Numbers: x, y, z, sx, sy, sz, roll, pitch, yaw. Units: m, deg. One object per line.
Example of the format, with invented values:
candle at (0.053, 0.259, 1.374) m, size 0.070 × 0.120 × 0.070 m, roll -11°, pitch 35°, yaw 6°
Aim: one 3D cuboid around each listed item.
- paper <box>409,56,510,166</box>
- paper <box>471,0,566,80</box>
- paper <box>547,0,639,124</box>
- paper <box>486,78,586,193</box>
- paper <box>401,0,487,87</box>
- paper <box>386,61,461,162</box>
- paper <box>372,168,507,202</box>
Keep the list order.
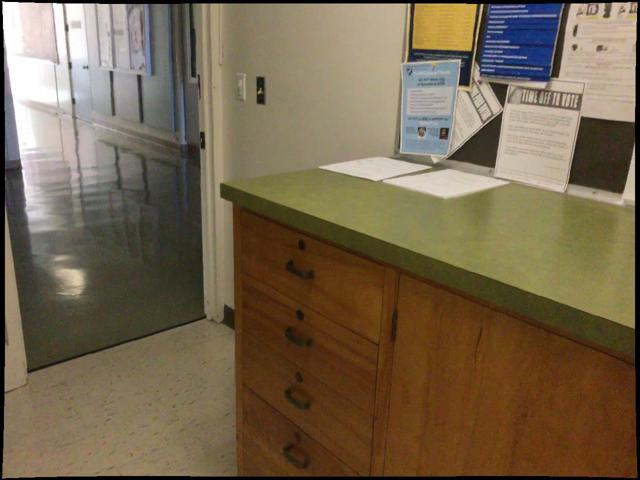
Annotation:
paper at (0.409, -0.381, 1.730) m, size 0.040 × 0.300 × 0.160 m, roll -15°, pitch 68°, yaw -39°
paper at (0.529, -0.612, 1.530) m, size 0.050 × 0.351 × 0.230 m, roll -15°, pitch 24°, yaw -39°
paper at (0.688, -0.481, 1.400) m, size 0.040 × 0.371 × 0.220 m, roll -15°, pitch 24°, yaw -39°
paper at (0.578, -0.291, 1.570) m, size 0.050 × 0.281 × 0.230 m, roll -15°, pitch 24°, yaw -39°
paper at (0.369, -0.692, 1.720) m, size 0.040 × 0.441 × 0.270 m, roll -15°, pitch 24°, yaw -39°
paper at (0.319, -0.411, 1.820) m, size 0.060 × 0.291 × 0.230 m, roll -15°, pitch 24°, yaw -39°
paper at (0.339, -0.160, 1.630) m, size 0.290 × 0.010 × 0.250 m, roll -15°, pitch 24°, yaw -39°
